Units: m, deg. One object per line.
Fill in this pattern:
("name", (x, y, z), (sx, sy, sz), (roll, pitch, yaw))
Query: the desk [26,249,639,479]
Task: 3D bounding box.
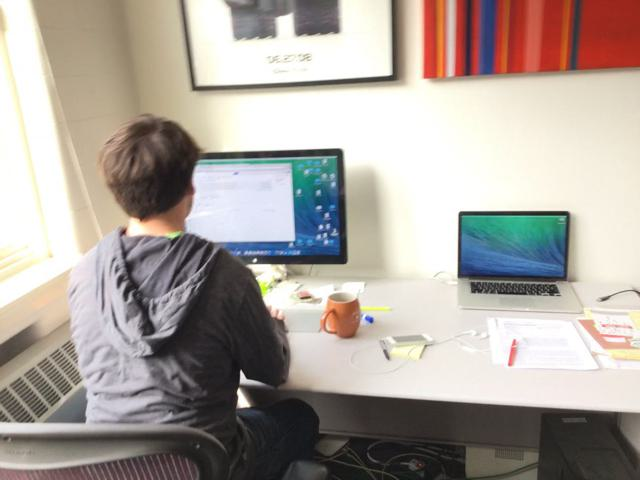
("desk", (0.180, 0.570, 1.750), (1.650, 0.770, 0.880), (3, 17, 15))
